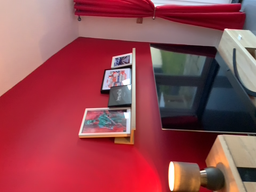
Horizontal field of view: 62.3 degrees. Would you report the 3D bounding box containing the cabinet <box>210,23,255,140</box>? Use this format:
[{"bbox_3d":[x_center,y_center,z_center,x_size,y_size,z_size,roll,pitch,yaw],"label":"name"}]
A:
[{"bbox_3d":[1.310,-0.160,2.130,1.740,0.340,0.500,-89,3,-51],"label":"cabinet"}]

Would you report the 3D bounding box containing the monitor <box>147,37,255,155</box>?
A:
[{"bbox_3d":[0.690,-0.160,2.120,1.650,0.890,0.110,-89,3,-51],"label":"monitor"}]
